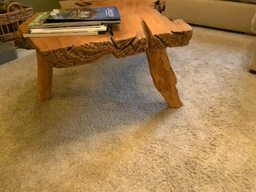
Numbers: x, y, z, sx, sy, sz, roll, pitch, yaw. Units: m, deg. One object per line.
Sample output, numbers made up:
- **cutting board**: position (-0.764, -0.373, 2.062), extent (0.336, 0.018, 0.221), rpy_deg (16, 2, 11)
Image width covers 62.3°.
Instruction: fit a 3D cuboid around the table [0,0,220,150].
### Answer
- **table**: position (-0.150, -0.360, 1.380), extent (0.830, 0.480, 1.300), rpy_deg (-5, 36, -4)
